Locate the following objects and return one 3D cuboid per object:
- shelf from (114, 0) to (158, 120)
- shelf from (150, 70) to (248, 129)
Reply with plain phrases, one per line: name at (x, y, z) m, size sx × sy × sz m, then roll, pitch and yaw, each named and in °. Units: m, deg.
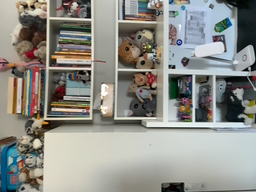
shelf at (0.050, -0.330, 1.510) m, size 0.190 × 0.280 × 0.980 m, roll 157°, pitch 114°, yaw -84°
shelf at (0.450, 0.030, 1.450) m, size 0.370 × 0.530 × 0.340 m, roll 157°, pitch 114°, yaw -84°
